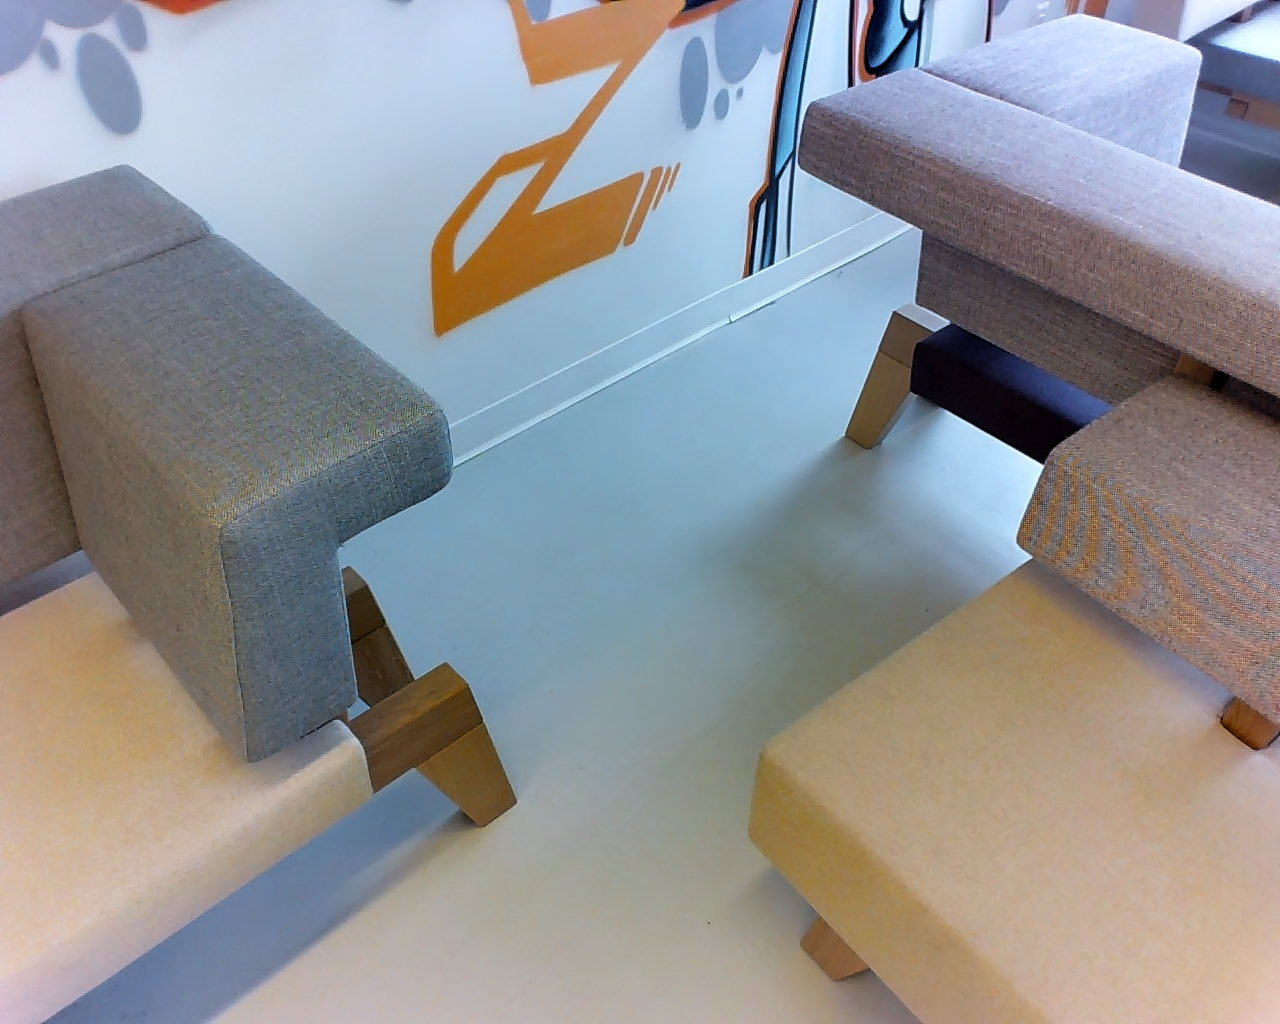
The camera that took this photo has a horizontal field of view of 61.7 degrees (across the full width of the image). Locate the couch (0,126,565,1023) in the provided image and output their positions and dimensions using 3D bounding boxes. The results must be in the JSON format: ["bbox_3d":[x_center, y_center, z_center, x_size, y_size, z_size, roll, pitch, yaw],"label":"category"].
[{"bbox_3d":[-0.550,0.080,1.470,0.450,0.870,0.800,-32,52,-30],"label":"couch"}]

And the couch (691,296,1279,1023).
[{"bbox_3d":[0.760,0.440,1.190,0.860,0.700,1.130,-26,49,-26],"label":"couch"}]
